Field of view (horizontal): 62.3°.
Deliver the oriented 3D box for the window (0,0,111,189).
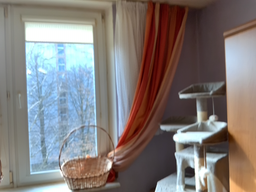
[{"bbox_3d":[-1.300,-0.050,1.770,2.310,1.690,0.070,-2,1,-18],"label":"window"}]
